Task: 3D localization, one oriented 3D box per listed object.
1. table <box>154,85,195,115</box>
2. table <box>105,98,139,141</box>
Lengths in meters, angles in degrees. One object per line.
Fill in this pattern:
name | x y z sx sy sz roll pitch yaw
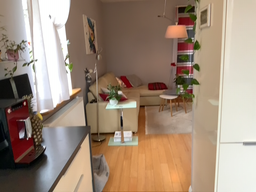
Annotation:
table | 1.070 0.070 4.900 0.770 0.470 0.560 -12 16 -37
table | -0.080 0.380 3.490 0.500 0.590 0.410 -1 13 4
